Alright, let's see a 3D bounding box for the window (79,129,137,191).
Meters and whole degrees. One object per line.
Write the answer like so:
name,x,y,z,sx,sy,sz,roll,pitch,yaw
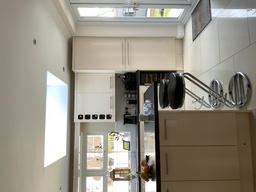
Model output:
window,-0.430,1.680,4.550,0.230,1.200,1.880,110,159,-82
